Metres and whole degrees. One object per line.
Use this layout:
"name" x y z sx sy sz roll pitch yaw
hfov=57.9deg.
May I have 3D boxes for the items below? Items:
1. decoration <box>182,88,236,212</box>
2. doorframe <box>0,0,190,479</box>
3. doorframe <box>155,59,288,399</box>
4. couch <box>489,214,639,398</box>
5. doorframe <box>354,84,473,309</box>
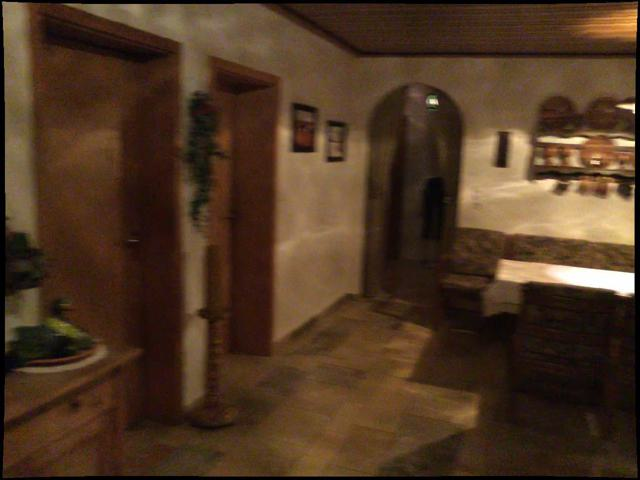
"decoration" -0.589 -0.480 3.090 0.150 0.621 0.290 6 11 20
"doorframe" -0.999 0.040 2.610 0.330 1.962 0.960 6 11 20
"doorframe" -0.599 -0.100 3.710 0.390 1.912 0.930 6 11 20
"couch" 2.527 0.450 4.210 2.298 0.921 1.550 6 11 20
"doorframe" 0.889 -0.430 5.620 0.969 2.082 0.270 6 11 20
